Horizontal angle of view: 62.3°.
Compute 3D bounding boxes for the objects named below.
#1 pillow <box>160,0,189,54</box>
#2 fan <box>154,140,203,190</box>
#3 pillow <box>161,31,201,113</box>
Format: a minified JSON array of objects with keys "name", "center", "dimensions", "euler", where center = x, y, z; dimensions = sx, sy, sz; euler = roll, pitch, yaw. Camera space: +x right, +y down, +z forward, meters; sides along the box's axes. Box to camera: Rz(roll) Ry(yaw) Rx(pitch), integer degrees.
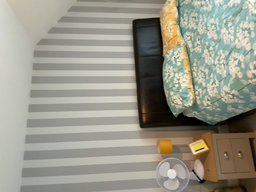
[{"name":"pillow","center":[0.520,-0.870,2.470],"dimensions":[0.440,0.140,0.620],"euler":[109,159,-72]},{"name":"fan","center":[0.530,0.730,2.300],"dimensions":[0.240,0.420,0.470],"euler":[113,155,-75]},{"name":"pillow","center":[0.530,-0.230,2.240],"dimensions":[0.500,0.170,0.720],"euler":[109,159,-72]}]
